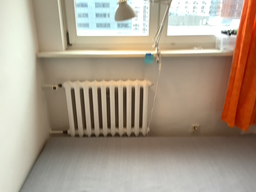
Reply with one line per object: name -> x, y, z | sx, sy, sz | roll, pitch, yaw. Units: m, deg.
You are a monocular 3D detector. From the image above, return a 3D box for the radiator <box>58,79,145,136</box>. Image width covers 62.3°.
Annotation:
radiator -> -0.240, 0.120, 2.070 | 0.790, 0.560, 0.080 | -1, 24, -3
